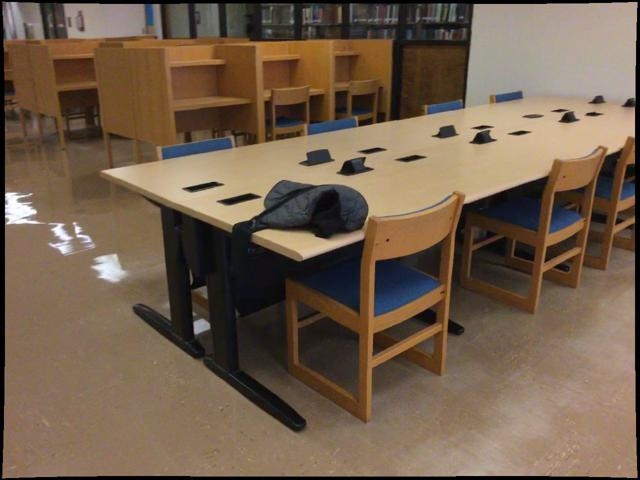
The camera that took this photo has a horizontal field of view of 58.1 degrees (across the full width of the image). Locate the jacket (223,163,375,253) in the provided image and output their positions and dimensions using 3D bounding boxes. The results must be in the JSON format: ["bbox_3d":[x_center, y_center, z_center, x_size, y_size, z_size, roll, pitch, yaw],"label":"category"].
[{"bbox_3d":[-0.080,-0.130,2.030,0.300,0.160,0.460,-20,28,-39],"label":"jacket"}]
